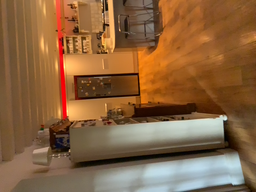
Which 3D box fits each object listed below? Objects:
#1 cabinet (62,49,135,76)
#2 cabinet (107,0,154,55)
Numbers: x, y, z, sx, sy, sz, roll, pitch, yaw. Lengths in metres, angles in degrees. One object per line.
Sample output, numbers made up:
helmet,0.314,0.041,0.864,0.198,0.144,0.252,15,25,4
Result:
cabinet,-0.920,-1.060,6.690,0.620,2.150,0.710,-179,87,-80
cabinet,-0.010,-2.130,4.900,1.090,0.860,2.140,-173,81,-80
